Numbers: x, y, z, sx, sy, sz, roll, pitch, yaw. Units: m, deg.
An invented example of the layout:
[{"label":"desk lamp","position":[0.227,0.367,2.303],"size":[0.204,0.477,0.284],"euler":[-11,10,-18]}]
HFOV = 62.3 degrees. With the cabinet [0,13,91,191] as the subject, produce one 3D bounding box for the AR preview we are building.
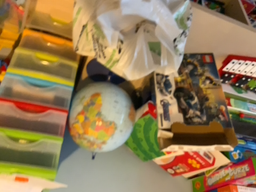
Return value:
[{"label":"cabinet","position":[-0.270,0.020,0.670],"size":[0.200,0.490,0.230],"euler":[13,146,-18]}]
